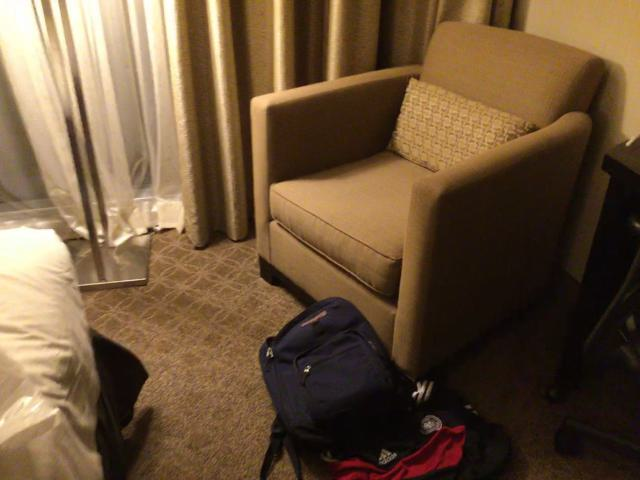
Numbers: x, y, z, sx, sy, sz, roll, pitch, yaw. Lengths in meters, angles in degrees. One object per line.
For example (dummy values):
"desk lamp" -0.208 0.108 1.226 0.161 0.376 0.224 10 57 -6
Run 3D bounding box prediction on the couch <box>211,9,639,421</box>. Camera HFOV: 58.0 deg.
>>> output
"couch" 0.300 -0.200 1.870 0.870 0.850 0.910 -22 36 -33

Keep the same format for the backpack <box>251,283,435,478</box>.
"backpack" 0.040 0.360 1.590 0.380 0.230 0.430 -8 31 -13

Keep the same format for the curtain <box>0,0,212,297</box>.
"curtain" -0.910 -0.670 1.930 0.890 1.740 0.340 -8 31 -13
